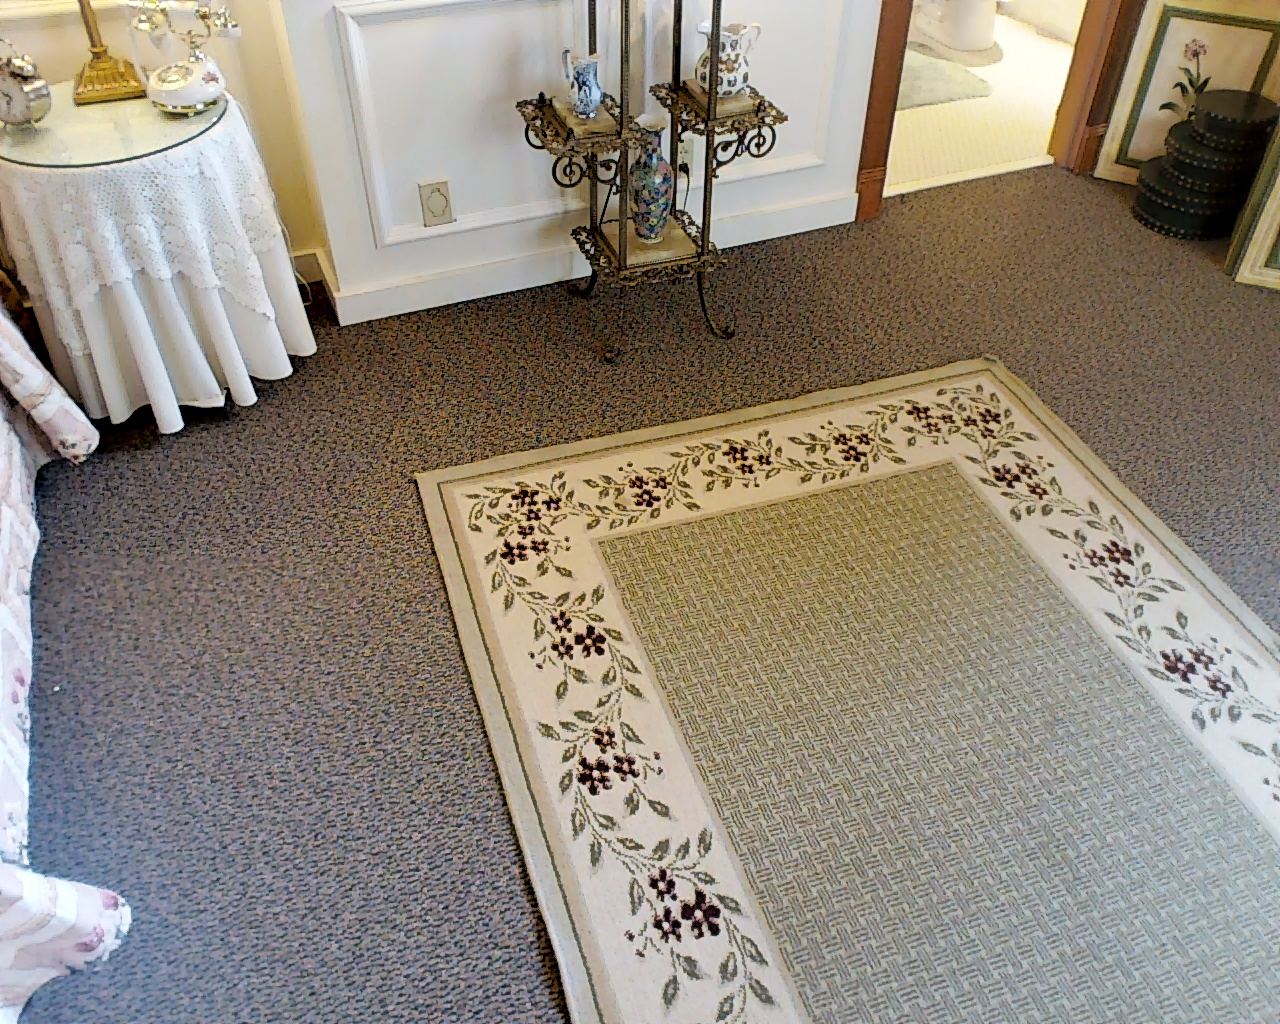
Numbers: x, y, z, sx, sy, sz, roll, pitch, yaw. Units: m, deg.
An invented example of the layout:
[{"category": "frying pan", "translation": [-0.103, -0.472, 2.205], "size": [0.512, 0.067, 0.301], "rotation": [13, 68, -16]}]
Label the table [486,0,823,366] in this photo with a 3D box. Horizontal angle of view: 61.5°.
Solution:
[{"category": "table", "translation": [0.020, -0.930, 2.630], "size": [0.640, 0.940, 0.430], "rotation": [-15, 46, -16]}]
